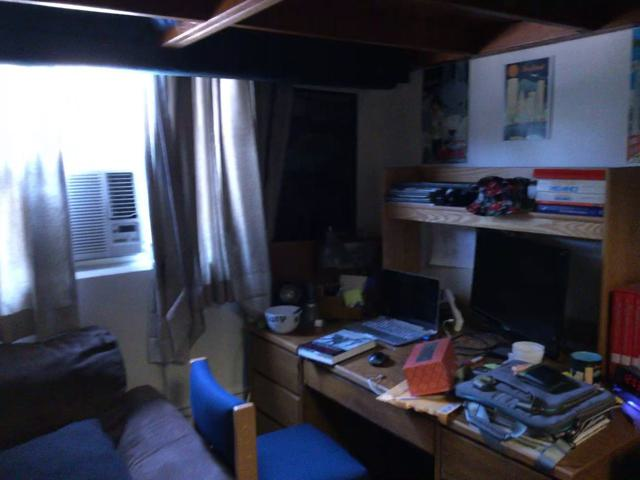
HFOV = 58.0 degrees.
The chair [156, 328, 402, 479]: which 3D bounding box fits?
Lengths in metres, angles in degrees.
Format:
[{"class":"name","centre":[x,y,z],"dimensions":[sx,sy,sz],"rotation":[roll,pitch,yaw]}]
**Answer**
[{"class":"chair","centre":[-0.150,0.800,1.990],"dimensions":[0.590,0.810,0.630],"rotation":[-5,5,-32]}]

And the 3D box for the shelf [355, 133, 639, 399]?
[{"class":"shelf","centre":[0.640,0.050,2.270],"dimensions":[0.350,0.780,1.170],"rotation":[-5,5,-32]}]

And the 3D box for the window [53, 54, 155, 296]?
[{"class":"window","centre":[-0.870,-0.250,2.330],"dimensions":[0.290,0.900,0.220],"rotation":[-5,5,-32]}]
